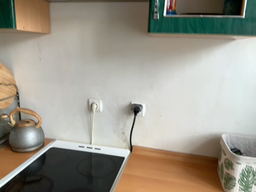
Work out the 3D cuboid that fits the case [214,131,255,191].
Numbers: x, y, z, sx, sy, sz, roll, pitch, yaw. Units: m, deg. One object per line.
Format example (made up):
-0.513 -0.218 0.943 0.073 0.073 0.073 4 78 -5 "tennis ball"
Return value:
0.630 0.320 1.000 0.360 0.160 0.290 6 14 12 "case"
